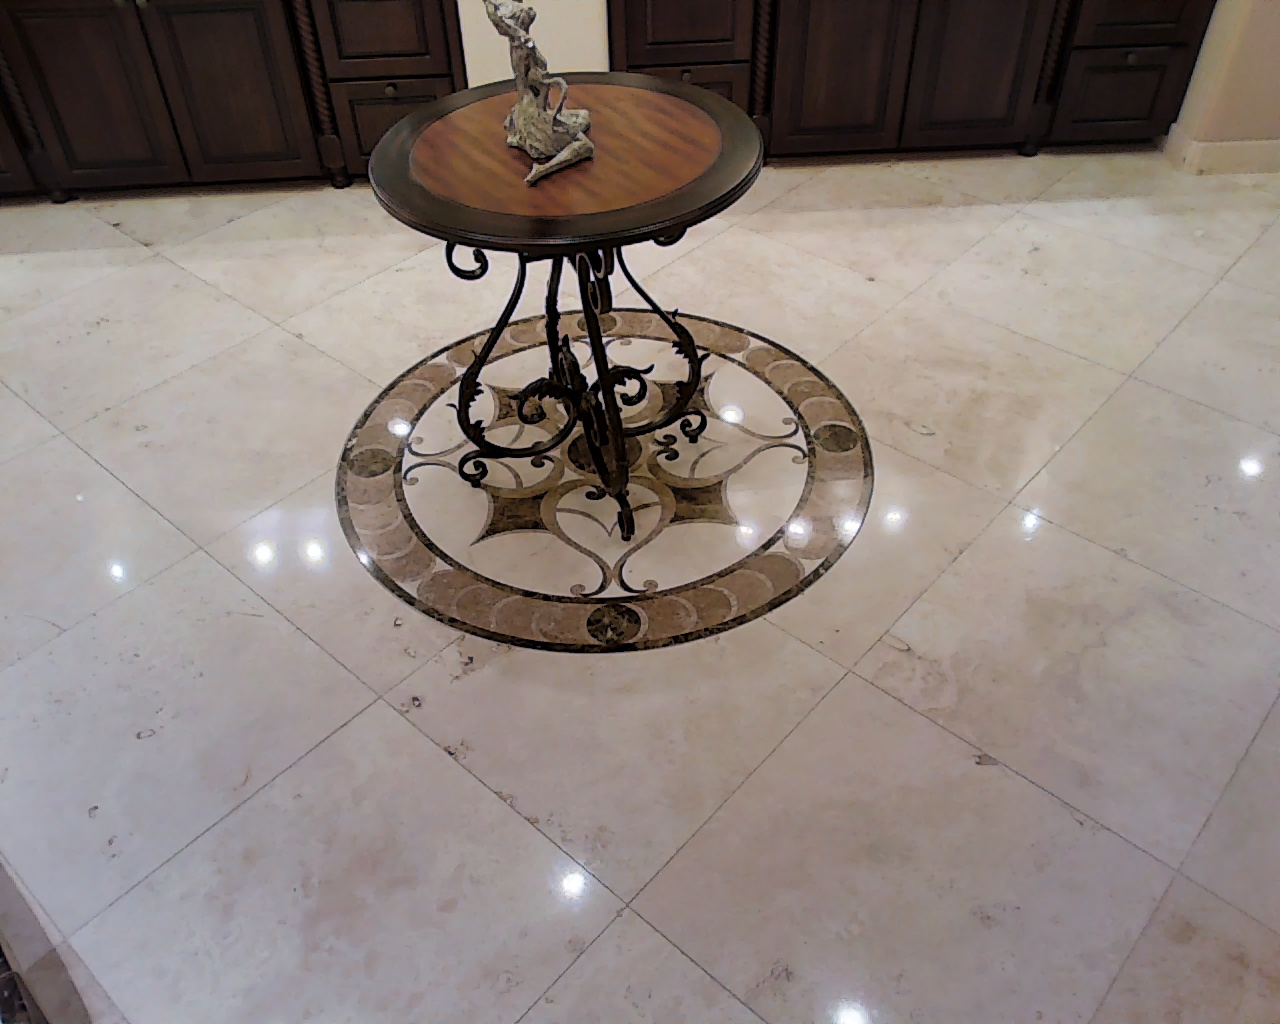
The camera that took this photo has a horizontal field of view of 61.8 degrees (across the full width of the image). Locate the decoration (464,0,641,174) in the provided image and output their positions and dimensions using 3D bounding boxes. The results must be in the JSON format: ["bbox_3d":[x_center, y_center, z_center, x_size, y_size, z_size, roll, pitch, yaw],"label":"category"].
[{"bbox_3d":[-0.150,-0.780,1.820,0.210,0.280,0.250,-19,46,-18],"label":"decoration"}]
